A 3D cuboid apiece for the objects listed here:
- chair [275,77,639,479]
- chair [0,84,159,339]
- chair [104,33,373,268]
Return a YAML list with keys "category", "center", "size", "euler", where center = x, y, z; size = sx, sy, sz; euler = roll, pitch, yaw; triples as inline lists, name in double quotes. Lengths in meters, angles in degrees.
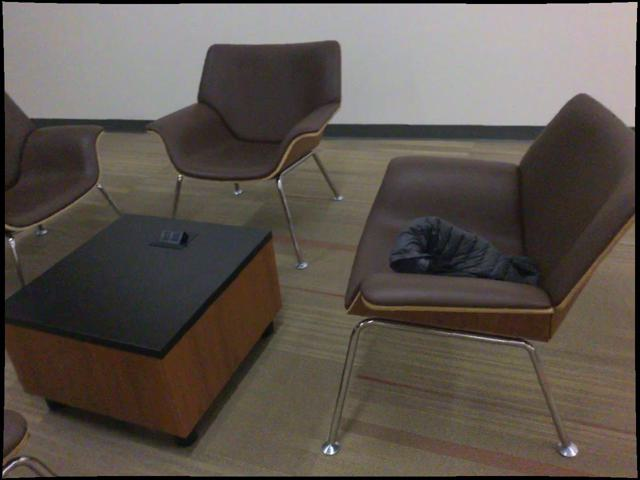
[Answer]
- category: "chair"
  center: [0.429, 0.060, 1.690]
  size: [0.828, 0.771, 0.881]
  euler: [-1, 31, 12]
- category: "chair"
  center: [-1.396, -0.190, 2.570]
  size: [0.808, 0.761, 0.840]
  euler: [7, 34, 23]
- category: "chair"
  center: [-0.299, -0.461, 2.740]
  size: [0.868, 0.781, 0.830]
  euler: [4, 33, 20]
